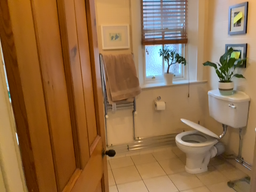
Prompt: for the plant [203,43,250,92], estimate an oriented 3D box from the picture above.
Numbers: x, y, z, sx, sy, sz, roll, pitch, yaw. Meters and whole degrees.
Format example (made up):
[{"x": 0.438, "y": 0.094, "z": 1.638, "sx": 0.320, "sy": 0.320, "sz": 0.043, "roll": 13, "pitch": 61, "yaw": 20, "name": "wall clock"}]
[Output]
[{"x": 1.080, "y": -0.340, "z": 2.390, "sx": 0.220, "sy": 0.480, "sz": 0.440, "roll": -6, "pitch": 15, "yaw": -14, "name": "plant"}]
